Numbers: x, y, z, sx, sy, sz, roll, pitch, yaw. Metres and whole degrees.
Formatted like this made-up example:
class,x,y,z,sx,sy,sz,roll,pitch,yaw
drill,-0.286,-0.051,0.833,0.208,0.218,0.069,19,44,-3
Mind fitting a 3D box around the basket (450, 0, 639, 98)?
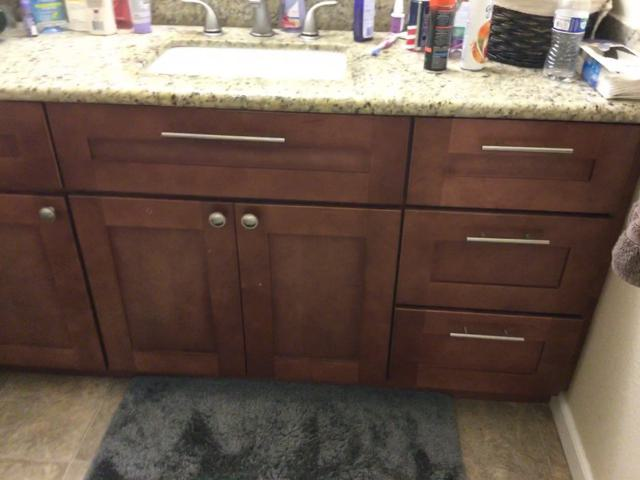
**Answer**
class,x,y,z,sx,sy,sz,roll,pitch,yaw
basket,0.510,-0.520,1.380,0.320,0.210,0.490,4,30,4
